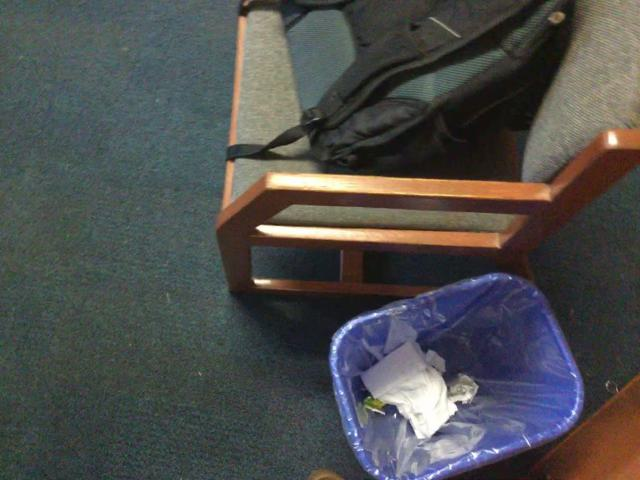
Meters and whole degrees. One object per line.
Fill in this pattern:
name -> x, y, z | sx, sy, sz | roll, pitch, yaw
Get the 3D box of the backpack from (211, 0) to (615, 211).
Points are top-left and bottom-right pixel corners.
backpack -> 0.120, -0.330, 0.790 | 0.400, 0.440, 0.330 | 9, -16, 1
